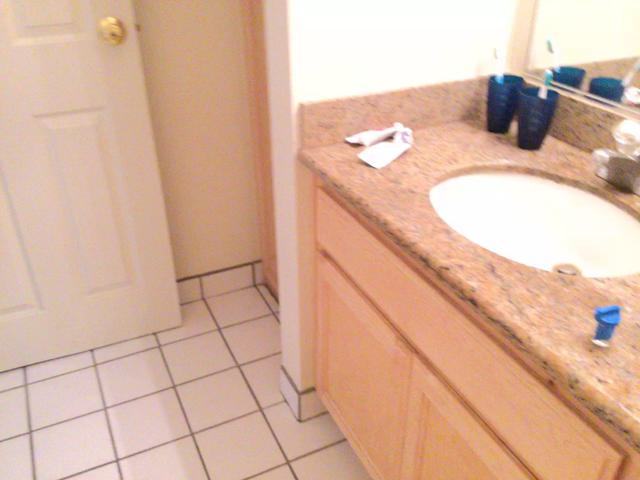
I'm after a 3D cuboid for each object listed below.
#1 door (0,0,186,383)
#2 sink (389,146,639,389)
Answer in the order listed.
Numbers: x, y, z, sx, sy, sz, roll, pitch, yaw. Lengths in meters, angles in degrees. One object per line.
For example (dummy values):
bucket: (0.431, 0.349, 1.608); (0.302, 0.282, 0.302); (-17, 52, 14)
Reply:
door: (-0.820, -0.180, 1.600); (0.790, 1.340, 0.080); (-12, 34, -24)
sink: (0.410, 0.010, 1.060); (0.380, 0.180, 0.420); (-12, 34, -24)
